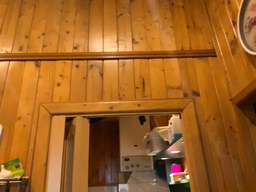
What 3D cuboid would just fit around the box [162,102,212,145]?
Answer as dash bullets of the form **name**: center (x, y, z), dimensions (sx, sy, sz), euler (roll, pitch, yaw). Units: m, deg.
- **box**: center (0.400, 0.200, 1.500), dimensions (0.270, 0.240, 0.220), euler (-3, -23, 2)
